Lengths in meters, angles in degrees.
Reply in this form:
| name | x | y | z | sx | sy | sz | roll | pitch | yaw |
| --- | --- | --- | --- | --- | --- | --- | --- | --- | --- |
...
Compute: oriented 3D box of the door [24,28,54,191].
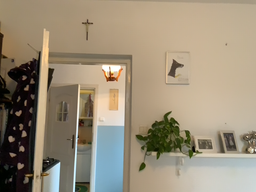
| name | x | y | z | sx | sy | sz | roll | pitch | yaw |
| --- | --- | --- | --- | --- | --- | --- | --- | --- | --- |
| door | -0.680 | 0.640 | 1.570 | 0.110 | 2.050 | 0.770 | 4 | -6 | -21 |
